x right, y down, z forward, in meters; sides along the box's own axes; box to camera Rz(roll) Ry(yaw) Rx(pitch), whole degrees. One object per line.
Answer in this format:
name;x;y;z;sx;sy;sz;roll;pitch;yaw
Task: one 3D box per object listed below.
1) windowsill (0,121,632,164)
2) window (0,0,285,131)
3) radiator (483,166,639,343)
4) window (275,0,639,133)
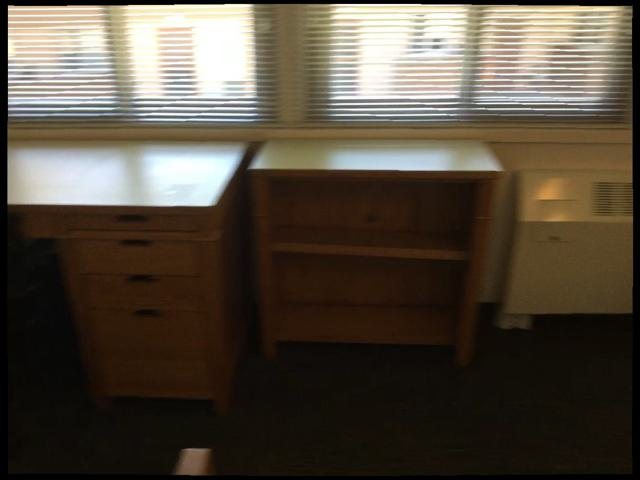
windowsill;-0.170;-0.361;2.100;2.485;0.090;0.080;2;28;3
window;-0.749;-0.741;2.050;1.208;0.631;0.230;2;28;3
radiator;1.138;0.070;2.170;0.918;0.651;0.170;2;28;3
window;0.489;-0.771;1.990;1.258;0.721;0.260;2;28;3
